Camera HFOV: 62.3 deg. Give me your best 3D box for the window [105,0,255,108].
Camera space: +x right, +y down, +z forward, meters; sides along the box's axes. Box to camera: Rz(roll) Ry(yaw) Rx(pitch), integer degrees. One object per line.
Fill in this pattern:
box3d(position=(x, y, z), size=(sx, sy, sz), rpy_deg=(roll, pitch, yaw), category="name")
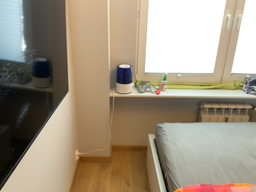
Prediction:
box3d(position=(0.990, -0.660, 2.010), size=(2.400, 1.590, 0.180), rpy_deg=(2, 22, 1), category="window")
